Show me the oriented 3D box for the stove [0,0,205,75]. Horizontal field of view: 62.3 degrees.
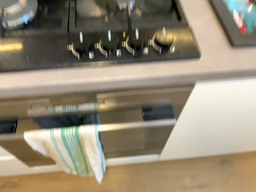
[{"bbox_3d":[-0.160,-0.290,0.580,0.590,0.020,0.550,-4,58,-5],"label":"stove"}]
